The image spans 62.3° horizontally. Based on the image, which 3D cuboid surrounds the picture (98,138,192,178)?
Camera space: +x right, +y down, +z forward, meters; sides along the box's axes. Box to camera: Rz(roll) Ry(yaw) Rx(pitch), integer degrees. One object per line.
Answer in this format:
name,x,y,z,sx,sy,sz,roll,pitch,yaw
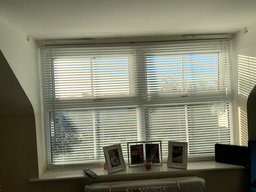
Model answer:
picture,0.140,0.520,1.810,0.760,0.240,0.170,-3,0,-4
